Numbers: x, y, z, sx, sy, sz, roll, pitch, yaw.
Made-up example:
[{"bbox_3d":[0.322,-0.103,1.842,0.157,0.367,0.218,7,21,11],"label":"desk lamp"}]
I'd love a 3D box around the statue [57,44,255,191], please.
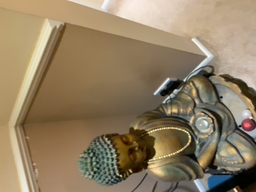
[{"bbox_3d":[0.240,0.190,1.020,0.580,0.880,0.440,-50,56,35],"label":"statue"}]
